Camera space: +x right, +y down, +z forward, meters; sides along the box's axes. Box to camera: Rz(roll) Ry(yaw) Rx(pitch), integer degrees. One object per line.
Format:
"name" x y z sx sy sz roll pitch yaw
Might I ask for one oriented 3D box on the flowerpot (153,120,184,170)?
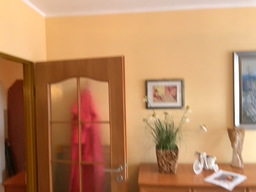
"flowerpot" 0.360 0.430 1.940 0.250 0.380 0.300 -1 0 6
